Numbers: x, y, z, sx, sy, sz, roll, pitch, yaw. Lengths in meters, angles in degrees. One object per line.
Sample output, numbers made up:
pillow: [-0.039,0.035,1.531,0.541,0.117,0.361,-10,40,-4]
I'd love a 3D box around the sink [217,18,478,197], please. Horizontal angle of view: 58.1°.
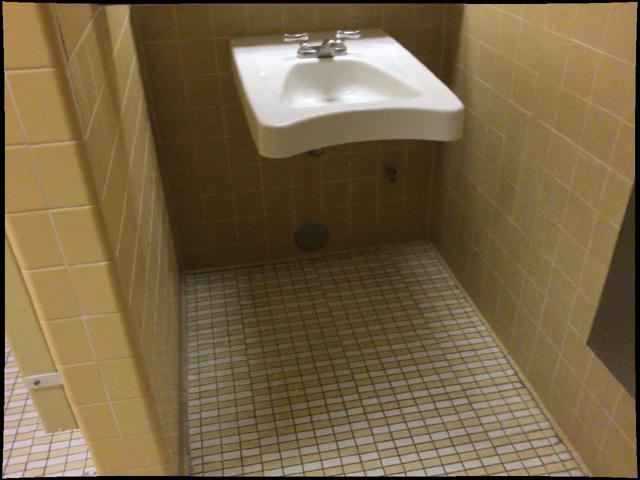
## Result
sink: [0.020,-0.421,1.640,0.549,0.220,0.720,-6,35,-11]
